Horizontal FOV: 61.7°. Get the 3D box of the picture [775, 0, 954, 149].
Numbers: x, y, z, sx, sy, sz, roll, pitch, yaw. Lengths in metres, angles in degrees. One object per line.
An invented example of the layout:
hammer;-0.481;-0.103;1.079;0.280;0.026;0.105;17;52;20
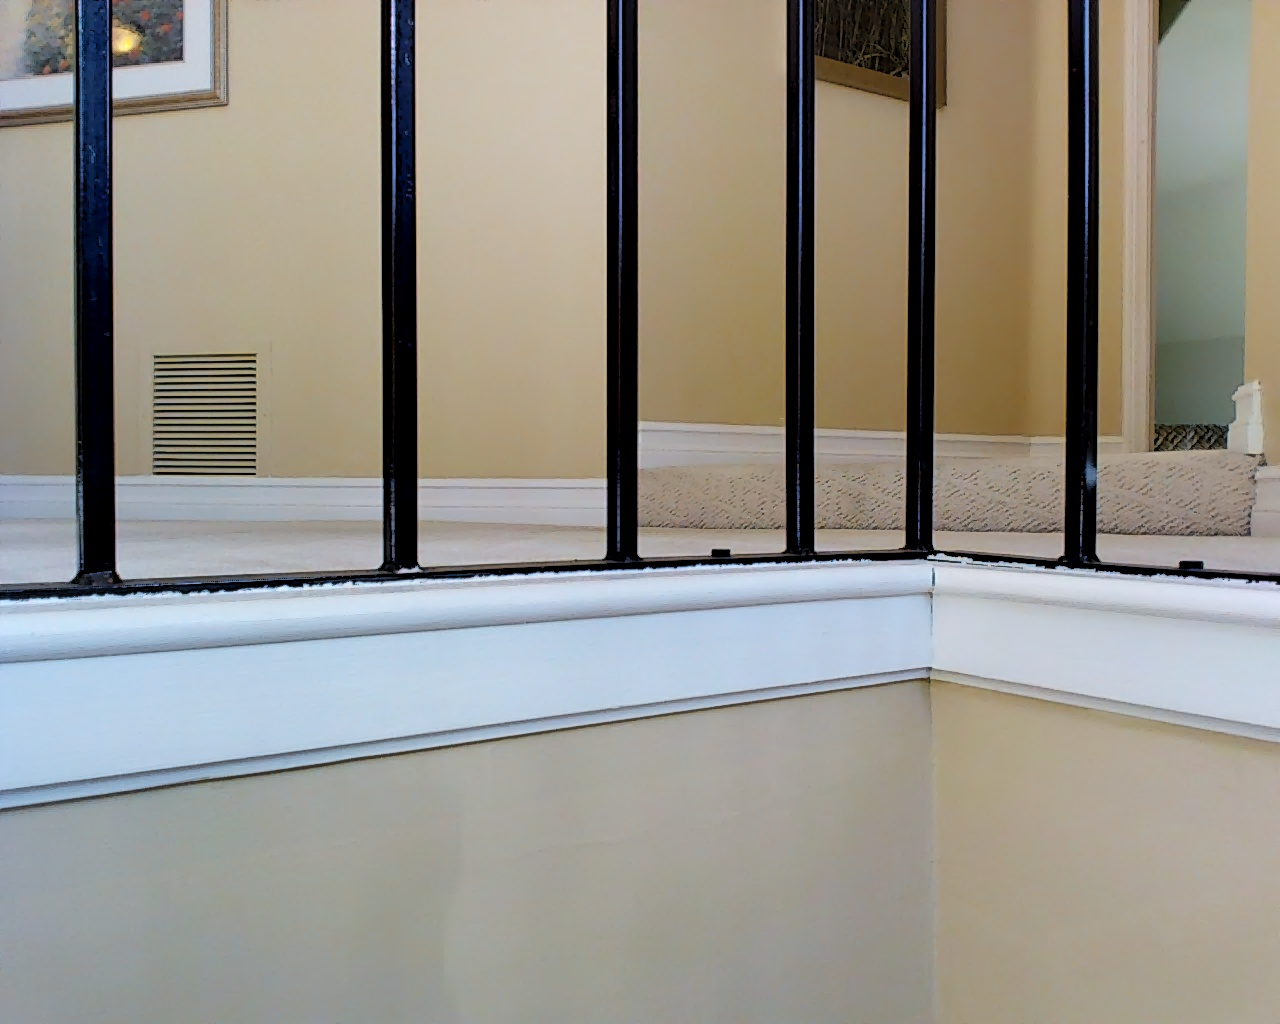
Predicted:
picture;0.590;-1.530;2.730;0.560;1.080;0.060;1;1;-33
